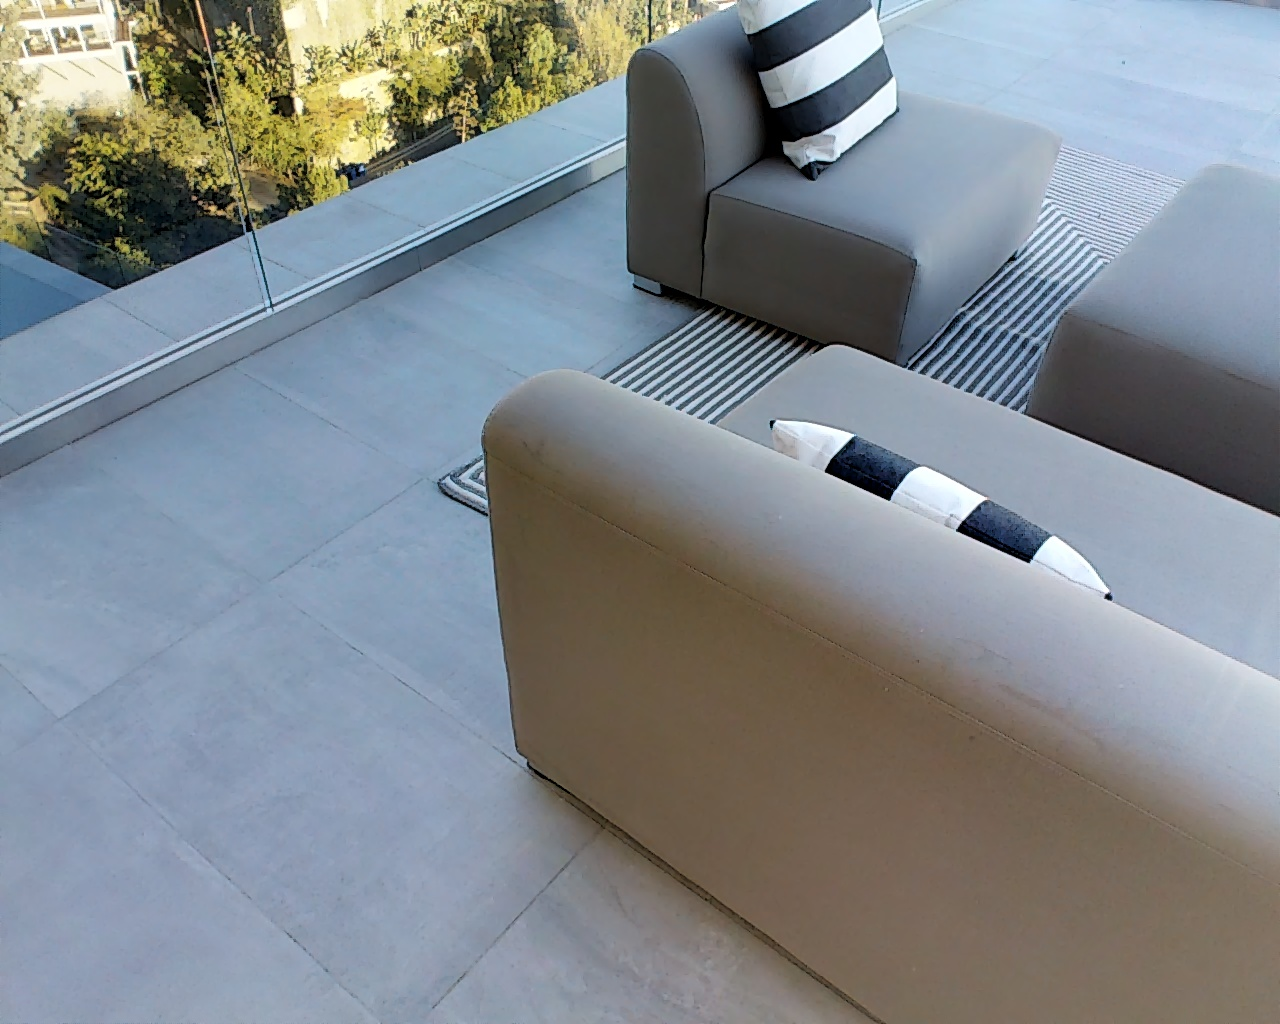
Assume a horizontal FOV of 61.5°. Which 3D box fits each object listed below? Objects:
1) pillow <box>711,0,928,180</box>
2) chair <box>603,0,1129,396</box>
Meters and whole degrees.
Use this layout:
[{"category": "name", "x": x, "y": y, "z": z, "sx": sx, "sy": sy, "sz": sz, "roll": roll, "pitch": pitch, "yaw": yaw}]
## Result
[{"category": "pillow", "x": 0.510, "y": -1.270, "z": 2.830, "sx": 0.290, "sy": 0.500, "sz": 0.570, "roll": 32, "pitch": 51, "yaw": 9}, {"category": "chair", "x": 0.600, "y": -1.030, "z": 2.980, "sx": 0.940, "sy": 0.740, "sz": 1.040, "roll": 28, "pitch": 48, "yaw": 28}]
